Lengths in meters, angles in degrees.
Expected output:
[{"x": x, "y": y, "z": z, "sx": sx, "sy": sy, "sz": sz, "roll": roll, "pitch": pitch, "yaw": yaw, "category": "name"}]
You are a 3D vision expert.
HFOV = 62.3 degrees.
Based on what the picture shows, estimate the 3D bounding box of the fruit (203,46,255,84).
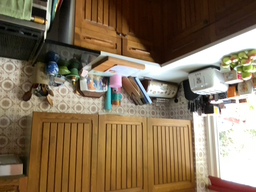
[{"x": 0.930, "y": -0.220, "z": 1.690, "sx": 0.440, "sy": 0.130, "sz": 0.440, "roll": 4, "pitch": 170, "yaw": -24, "category": "fruit"}]

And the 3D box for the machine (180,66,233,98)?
[{"x": 0.740, "y": -0.120, "z": 2.030, "sx": 0.300, "sy": 0.210, "sz": 0.350, "roll": 5, "pitch": 170, "yaw": -26, "category": "machine"}]
